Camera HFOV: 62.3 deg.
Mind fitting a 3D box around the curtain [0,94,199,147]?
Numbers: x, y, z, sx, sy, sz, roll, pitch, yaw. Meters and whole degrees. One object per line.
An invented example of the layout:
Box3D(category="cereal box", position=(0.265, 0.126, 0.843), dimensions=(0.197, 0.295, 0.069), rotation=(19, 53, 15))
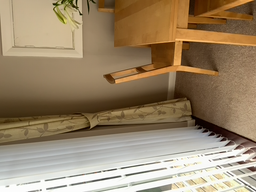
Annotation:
Box3D(category="curtain", position=(-0.550, 0.170, 1.740), dimensions=(0.520, 2.350, 0.220), rotation=(-158, 67, -67))
